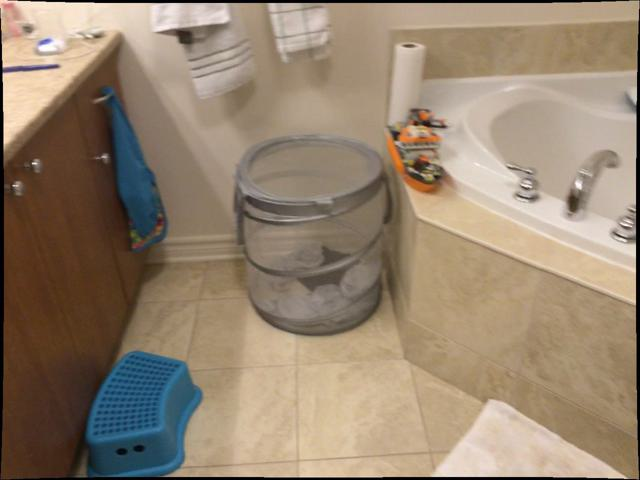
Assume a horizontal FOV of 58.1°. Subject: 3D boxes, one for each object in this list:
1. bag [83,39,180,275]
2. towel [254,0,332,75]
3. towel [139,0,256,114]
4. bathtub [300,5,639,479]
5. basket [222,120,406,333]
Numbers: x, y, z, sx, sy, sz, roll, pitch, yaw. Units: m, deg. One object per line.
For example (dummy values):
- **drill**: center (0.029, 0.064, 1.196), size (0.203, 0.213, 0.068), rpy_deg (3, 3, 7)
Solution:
- **bag**: center (-0.569, -0.250, 1.820), size (0.120, 0.670, 0.300), rpy_deg (-2, 34, -3)
- **towel**: center (-0.080, -0.701, 1.680), size (0.220, 0.390, 0.150), rpy_deg (-2, 34, -3)
- **towel**: center (-0.350, -0.641, 1.680), size (0.290, 0.500, 0.170), rpy_deg (-2, 34, -3)
- **bathtub**: center (1.179, -0.010, 1.580), size (2.009, 0.700, 1.440), rpy_deg (26, 42, 33)
- **basket**: center (-0.030, -0.060, 1.870), size (0.490, 0.480, 0.500), rpy_deg (-2, 34, -3)
